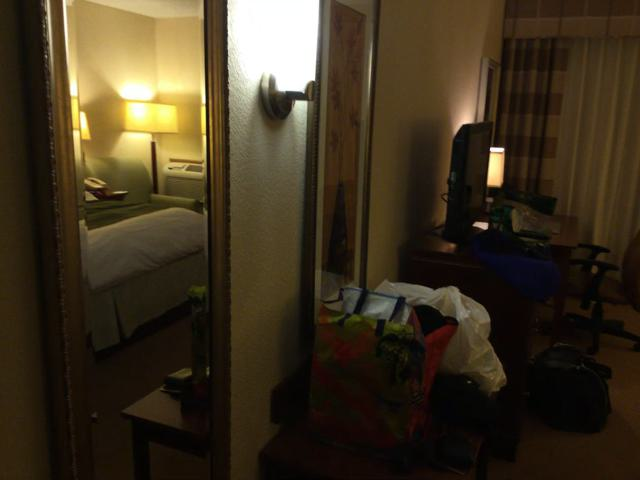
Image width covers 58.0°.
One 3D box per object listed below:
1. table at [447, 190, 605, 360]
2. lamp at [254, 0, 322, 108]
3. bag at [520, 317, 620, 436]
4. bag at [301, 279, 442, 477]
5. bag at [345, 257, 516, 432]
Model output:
[{"bbox_3d":[1.490,0.150,4.070,0.850,0.770,1.290,6,16,26],"label":"table"},{"bbox_3d":[-0.070,-0.450,1.330,0.090,0.280,0.140,6,16,26],"label":"lamp"},{"bbox_3d":[1.300,0.670,2.980,0.410,0.290,0.630,6,16,26],"label":"bag"},{"bbox_3d":[0.150,0.360,1.600,0.300,0.410,0.270,6,16,26],"label":"bag"},{"bbox_3d":[0.380,0.310,1.930,0.440,0.360,0.460,6,16,26],"label":"bag"}]
